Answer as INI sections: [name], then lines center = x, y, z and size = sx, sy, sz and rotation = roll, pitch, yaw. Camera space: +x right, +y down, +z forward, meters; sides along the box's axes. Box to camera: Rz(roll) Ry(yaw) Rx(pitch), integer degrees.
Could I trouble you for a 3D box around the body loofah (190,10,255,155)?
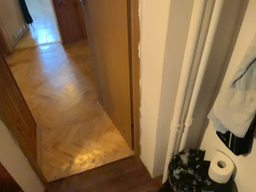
[body loofah]
center = 0.430, -0.030, 0.850
size = 0.160, 0.520, 0.240
rotation = -16, 44, -14
